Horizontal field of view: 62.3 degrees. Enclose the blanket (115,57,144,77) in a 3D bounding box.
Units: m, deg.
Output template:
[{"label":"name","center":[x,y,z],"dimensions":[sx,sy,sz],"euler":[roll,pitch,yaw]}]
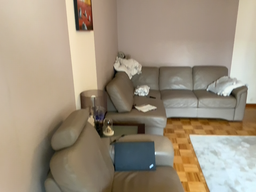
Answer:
[{"label":"blanket","center":[0.050,-0.590,4.190],"dimensions":[0.510,0.280,0.700],"euler":[1,17,4]}]
